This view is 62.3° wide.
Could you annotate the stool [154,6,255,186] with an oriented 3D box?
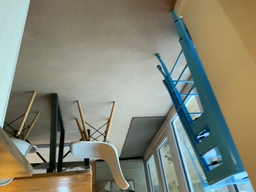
[{"bbox_3d":[0.500,-0.040,1.300,0.390,1.000,0.430,-1,147,-12],"label":"stool"}]
